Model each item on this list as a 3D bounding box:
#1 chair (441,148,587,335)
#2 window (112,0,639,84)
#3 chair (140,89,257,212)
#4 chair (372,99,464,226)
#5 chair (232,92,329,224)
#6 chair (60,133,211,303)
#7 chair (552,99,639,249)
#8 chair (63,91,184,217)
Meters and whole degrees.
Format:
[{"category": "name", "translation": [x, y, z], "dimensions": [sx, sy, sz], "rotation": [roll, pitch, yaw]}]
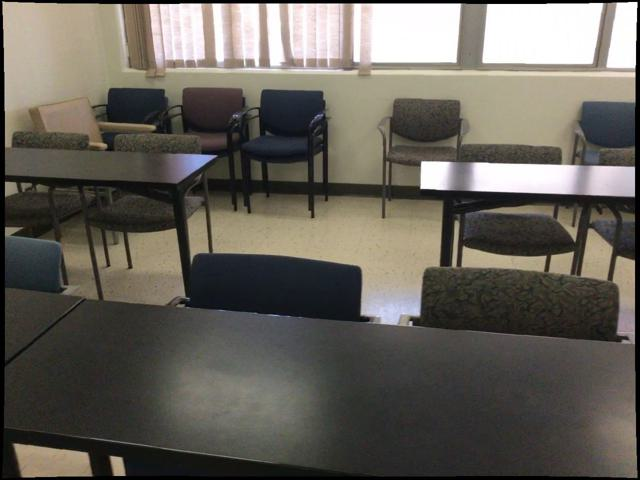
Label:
[{"category": "chair", "translation": [0.848, -0.020, 2.690], "dimensions": [0.519, 0.671, 0.580], "rotation": [3, 24, 10]}, {"category": "window", "translation": [0.389, -1.684, 3.870], "dimensions": [3.831, 1.173, 0.250], "rotation": [4, 24, 12]}, {"category": "chair", "translation": [-0.848, -0.662, 4.160], "dimensions": [0.599, 0.752, 0.500], "rotation": [4, 24, 12]}, {"category": "chair", "translation": [0.668, -0.541, 3.930], "dimensions": [0.559, 0.732, 0.480], "rotation": [4, 24, 12]}, {"category": "chair", "translation": [-0.249, -0.602, 4.080], "dimensions": [0.499, 0.782, 0.580], "rotation": [4, 24, 13]}, {"category": "chair", "translation": [-0.928, -0.130, 3.030], "dimensions": [0.499, 0.752, 0.480], "rotation": [2, 24, 8]}, {"category": "chair", "translation": [1.825, -0.431, 3.620], "dimensions": [0.519, 0.792, 0.560], "rotation": [4, 24, 12]}, {"category": "chair", "translation": [-1.436, -0.662, 4.320], "dimensions": [0.529, 0.792, 0.560], "rotation": [4, 25, 12]}]
